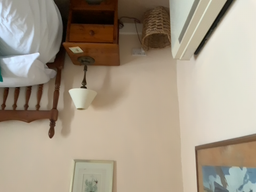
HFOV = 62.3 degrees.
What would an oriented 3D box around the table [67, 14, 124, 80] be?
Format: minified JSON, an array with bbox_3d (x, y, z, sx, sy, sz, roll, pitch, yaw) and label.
[{"bbox_3d":[-0.280,-0.460,2.060,0.470,0.480,0.400,1,163,0],"label":"table"}]
